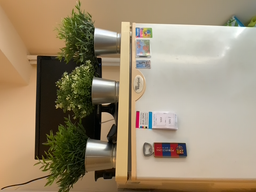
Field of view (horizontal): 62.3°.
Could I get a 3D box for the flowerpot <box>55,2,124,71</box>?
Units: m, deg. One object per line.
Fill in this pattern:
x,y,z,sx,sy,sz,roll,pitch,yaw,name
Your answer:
-0.130,-0.220,0.820,0.200,0.220,0.160,93,179,-65,flowerpot

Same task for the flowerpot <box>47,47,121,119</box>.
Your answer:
-0.140,-0.040,0.790,0.200,0.220,0.190,93,179,-64,flowerpot
